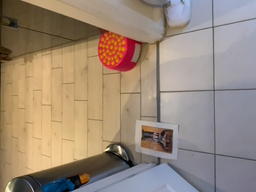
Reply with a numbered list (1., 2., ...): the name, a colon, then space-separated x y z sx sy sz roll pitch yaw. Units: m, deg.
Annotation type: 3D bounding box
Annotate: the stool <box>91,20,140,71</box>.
1. stool: -0.090 -0.330 1.460 0.300 0.170 0.280 1 90 38
